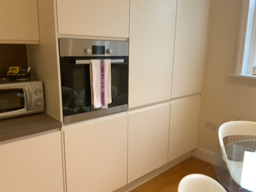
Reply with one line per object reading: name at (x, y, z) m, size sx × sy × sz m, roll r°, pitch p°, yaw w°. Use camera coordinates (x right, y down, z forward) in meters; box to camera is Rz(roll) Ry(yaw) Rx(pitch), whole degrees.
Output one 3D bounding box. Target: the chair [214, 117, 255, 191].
chair at (1.100, 0.680, 1.820) m, size 0.600 × 0.780 × 0.550 m, roll 8°, pitch 14°, yaw 27°
